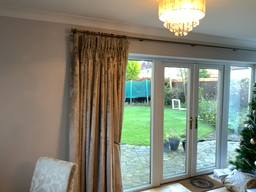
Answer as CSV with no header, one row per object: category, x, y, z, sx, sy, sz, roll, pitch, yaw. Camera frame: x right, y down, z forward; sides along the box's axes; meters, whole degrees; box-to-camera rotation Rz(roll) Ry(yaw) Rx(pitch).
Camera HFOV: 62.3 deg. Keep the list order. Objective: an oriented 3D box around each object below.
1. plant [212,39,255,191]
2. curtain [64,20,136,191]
plant,2.370,0.290,3.390,1.310,2.240,1.330,-2,4,-29
curtain,-0.320,0.360,2.440,0.740,2.250,0.340,-1,4,-24
